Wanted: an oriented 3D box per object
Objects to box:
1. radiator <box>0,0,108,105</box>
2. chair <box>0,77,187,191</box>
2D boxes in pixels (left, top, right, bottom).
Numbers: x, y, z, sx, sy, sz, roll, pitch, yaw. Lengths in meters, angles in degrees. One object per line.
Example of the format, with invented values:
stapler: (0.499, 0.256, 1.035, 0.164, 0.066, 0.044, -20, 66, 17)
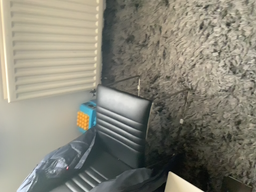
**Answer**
radiator: (-0.430, -0.410, 1.370, 0.060, 0.710, 0.840, 21, 112, 38)
chair: (-0.130, 0.240, 1.240, 0.440, 0.990, 0.540, 20, 112, 38)
